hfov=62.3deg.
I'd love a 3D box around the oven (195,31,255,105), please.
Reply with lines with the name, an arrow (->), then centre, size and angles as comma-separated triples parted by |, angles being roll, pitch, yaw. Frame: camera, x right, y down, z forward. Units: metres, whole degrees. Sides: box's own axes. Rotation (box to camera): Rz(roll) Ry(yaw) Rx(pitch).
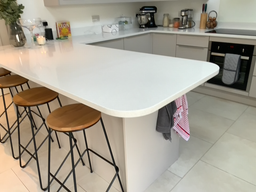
oven -> 1.420, -0.440, 3.060 | 0.590, 0.860, 0.610 | 18, 30, 38
